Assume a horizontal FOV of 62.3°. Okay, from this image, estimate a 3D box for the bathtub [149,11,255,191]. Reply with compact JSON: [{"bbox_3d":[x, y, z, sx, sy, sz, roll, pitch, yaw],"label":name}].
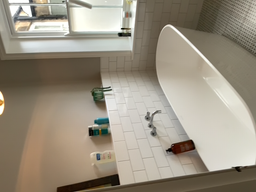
[{"bbox_3d":[0.730,-0.090,1.900,1.720,0.540,0.770,-107,17,-49],"label":"bathtub"}]
